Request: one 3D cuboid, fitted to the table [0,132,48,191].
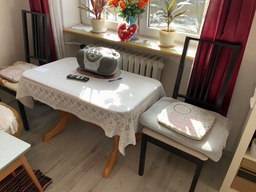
[{"bbox_3d":[-0.720,0.500,1.370,0.270,0.440,0.190,16,34,20],"label":"table"}]
